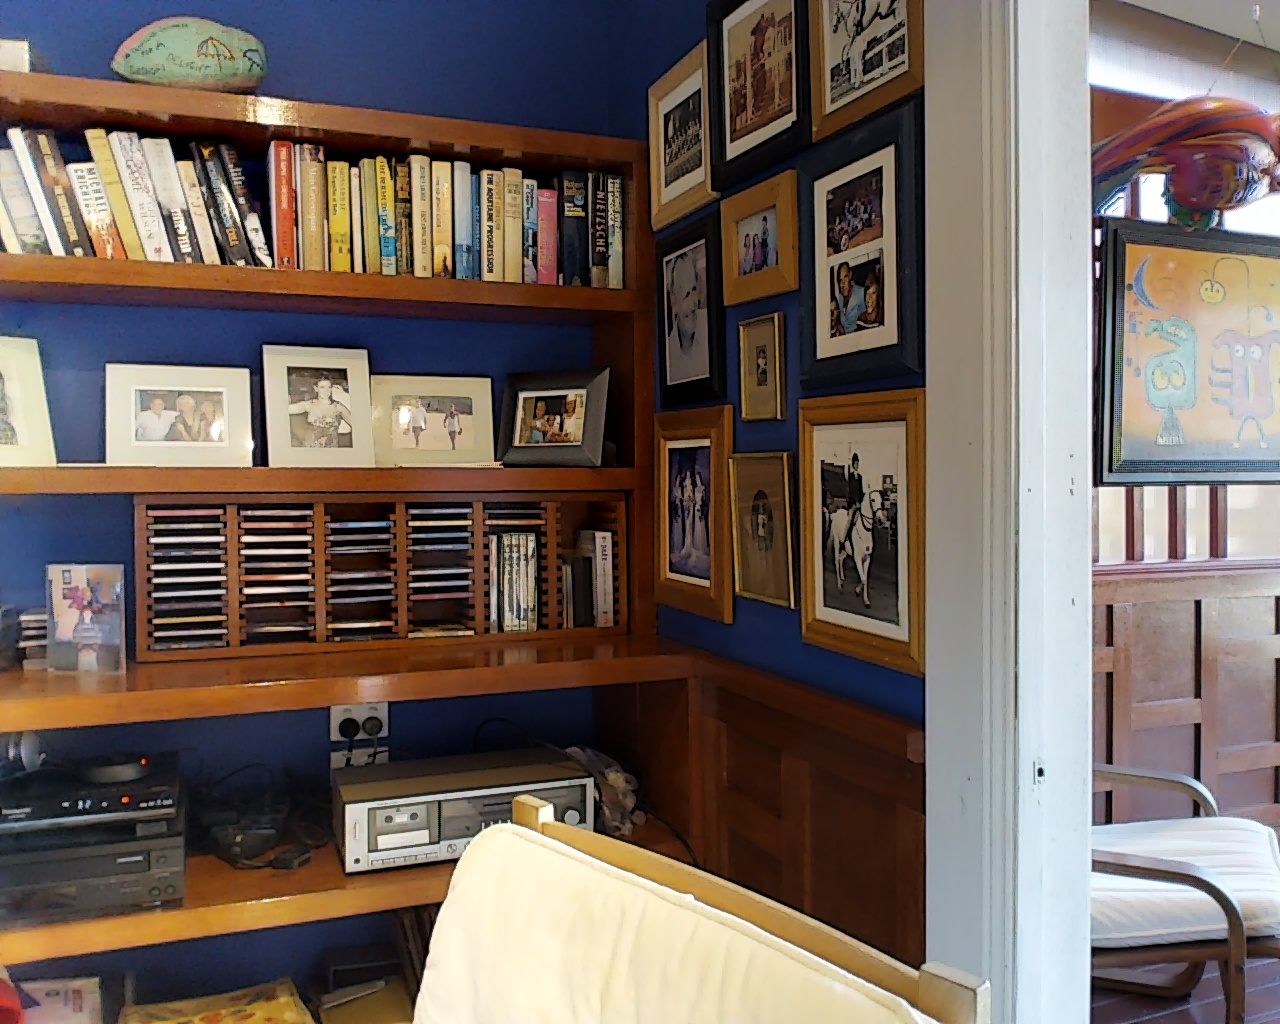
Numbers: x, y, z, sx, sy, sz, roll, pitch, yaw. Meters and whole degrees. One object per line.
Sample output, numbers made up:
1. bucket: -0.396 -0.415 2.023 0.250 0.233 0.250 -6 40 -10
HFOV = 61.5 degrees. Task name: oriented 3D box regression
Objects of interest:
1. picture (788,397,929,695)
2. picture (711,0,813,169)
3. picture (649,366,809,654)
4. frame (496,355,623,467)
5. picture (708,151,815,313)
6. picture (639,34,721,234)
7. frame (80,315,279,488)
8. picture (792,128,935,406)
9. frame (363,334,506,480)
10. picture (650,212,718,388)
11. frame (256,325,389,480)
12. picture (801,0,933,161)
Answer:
1. picture: 0.300 0.040 1.520 0.020 0.380 0.320 -1 2 -22
2. picture: 0.190 -0.710 1.720 0.040 0.250 0.250 -3 3 -22
3. picture: 0.140 -0.010 1.910 0.030 0.440 0.560 -1 2 -22
4. frame: -0.170 -0.200 2.210 0.200 0.210 0.230 -1 2 -21
5. picture: 0.190 -0.440 1.730 0.050 0.200 0.260 -1 2 -23
6. picture: 0.070 -0.690 2.000 0.040 0.280 0.280 -1 2 -22
7. frame: -0.850 -0.200 2.000 0.280 0.240 0.060 18 -5 -20
8. picture: 0.300 -0.320 1.480 0.050 0.330 0.260 -1 2 -24
9. frame: -0.420 -0.210 2.200 0.230 0.240 0.080 14 -4 -21
10. picture: 0.080 -0.390 2.030 0.030 0.290 0.250 -1 2 -21
11. frame: -0.620 -0.210 2.100 0.180 0.250 0.080 18 -5 -20
12. picture: 0.300 -0.660 1.450 0.040 0.300 0.240 -1 2 -24
